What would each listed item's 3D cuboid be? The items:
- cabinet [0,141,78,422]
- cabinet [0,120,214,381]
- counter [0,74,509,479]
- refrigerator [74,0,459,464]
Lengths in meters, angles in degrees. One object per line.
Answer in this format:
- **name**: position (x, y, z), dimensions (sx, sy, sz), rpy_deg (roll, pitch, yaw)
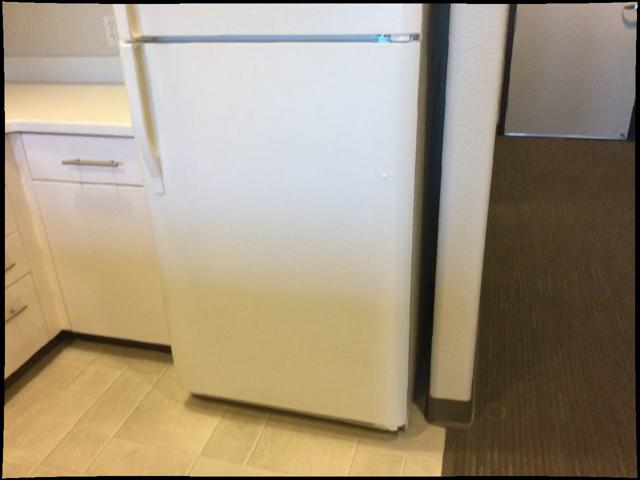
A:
- **cabinet**: position (-1.097, 0.160, 1.910), dimensions (0.080, 0.852, 0.520), rpy_deg (5, 27, 15)
- **cabinet**: position (-0.748, 0.050, 2.020), dimensions (0.648, 0.902, 0.120), rpy_deg (5, 27, 15)
- **counter**: position (-0.828, 0.070, 0.980), dimensions (2.175, 0.140, 3.051), rpy_deg (5, 27, 15)
- **refrigerator**: position (-0.060, -0.321, 1.750), dimensions (0.858, 1.774, 0.720), rpy_deg (5, 27, 15)
